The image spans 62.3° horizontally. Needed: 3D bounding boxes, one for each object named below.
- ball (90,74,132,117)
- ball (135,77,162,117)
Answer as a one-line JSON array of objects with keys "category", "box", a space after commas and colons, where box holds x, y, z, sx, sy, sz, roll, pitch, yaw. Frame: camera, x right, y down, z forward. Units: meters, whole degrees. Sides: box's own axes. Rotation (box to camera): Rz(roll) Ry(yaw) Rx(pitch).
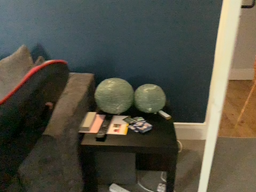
[{"category": "ball", "box": [-0.100, -0.010, 1.450, 0.240, 0.210, 0.230, 1, 26, 6]}, {"category": "ball", "box": [0.140, 0.000, 1.470, 0.170, 0.190, 0.240, 1, 26, 5]}]
